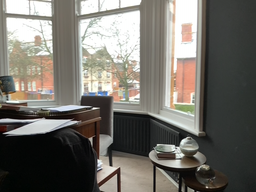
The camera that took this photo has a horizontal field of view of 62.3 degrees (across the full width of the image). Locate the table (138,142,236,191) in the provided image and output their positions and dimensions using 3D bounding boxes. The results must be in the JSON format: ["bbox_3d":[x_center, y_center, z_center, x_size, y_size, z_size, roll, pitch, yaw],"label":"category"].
[{"bbox_3d":[0.400,0.700,1.480,0.540,0.570,0.380,5,7,39],"label":"table"}]
